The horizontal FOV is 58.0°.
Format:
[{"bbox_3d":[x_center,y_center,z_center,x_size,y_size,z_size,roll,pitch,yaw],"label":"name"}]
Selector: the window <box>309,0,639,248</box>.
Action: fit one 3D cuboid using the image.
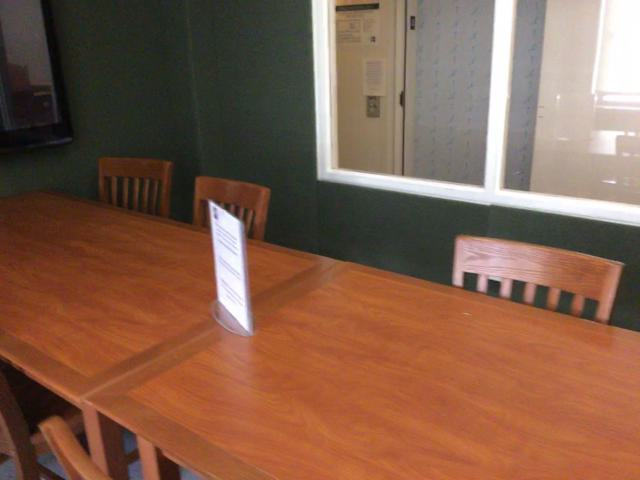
[{"bbox_3d":[0.760,-0.730,2.380,1.950,1.330,0.180,13,24,39],"label":"window"}]
